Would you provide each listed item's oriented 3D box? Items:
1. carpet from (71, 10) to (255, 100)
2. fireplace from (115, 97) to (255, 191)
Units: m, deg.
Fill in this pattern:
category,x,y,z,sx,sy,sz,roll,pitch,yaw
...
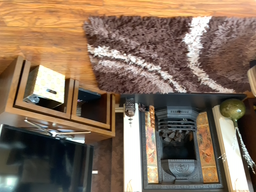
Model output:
category,x,y,z,sx,sy,sz,roll,pitch,yaw
carpet,0.510,-0.230,1.810,1.720,0.040,1.200,0,155,-2
fireplace,0.530,0.650,2.270,1.330,1.210,0.370,1,155,-4
